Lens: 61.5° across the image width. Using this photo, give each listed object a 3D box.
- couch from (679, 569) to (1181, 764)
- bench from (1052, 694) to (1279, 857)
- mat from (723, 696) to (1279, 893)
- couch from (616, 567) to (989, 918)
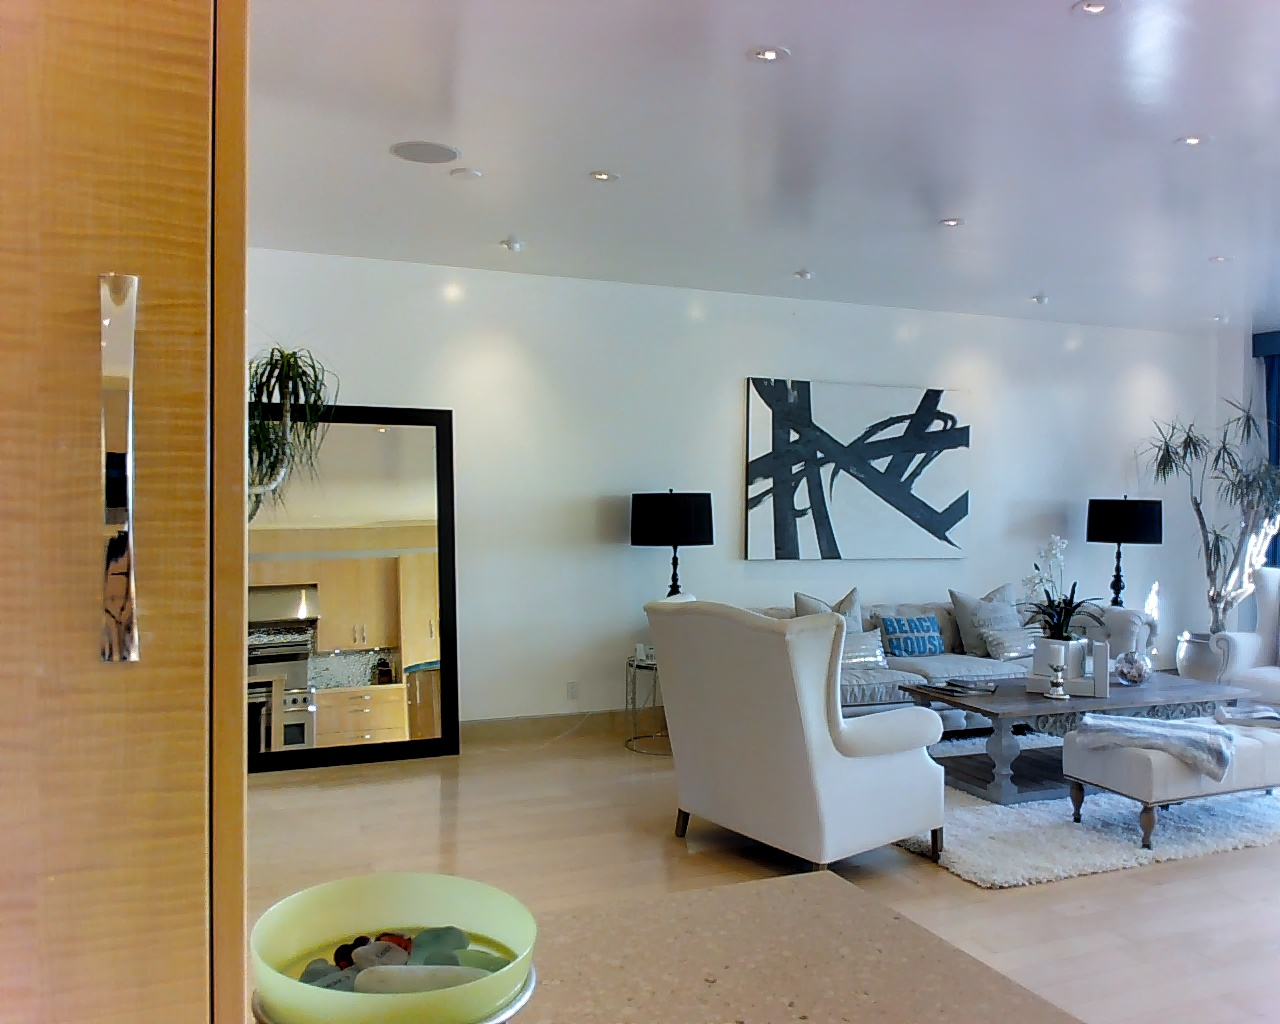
[{"bbox_3d":[1.929,0.920,7.100,3.149,0.930,1.130,0,2,-22],"label":"couch"},{"bbox_3d":[2.699,1.191,5.020,1.459,0.480,0.550,0,2,-22],"label":"bench"},{"bbox_3d":[2.369,1.371,5.800,3.129,0.110,2.310,0,2,-22],"label":"mat"},{"bbox_3d":[0.670,0.870,4.640,1.050,1.141,1.180,-1,2,-37],"label":"couch"}]
